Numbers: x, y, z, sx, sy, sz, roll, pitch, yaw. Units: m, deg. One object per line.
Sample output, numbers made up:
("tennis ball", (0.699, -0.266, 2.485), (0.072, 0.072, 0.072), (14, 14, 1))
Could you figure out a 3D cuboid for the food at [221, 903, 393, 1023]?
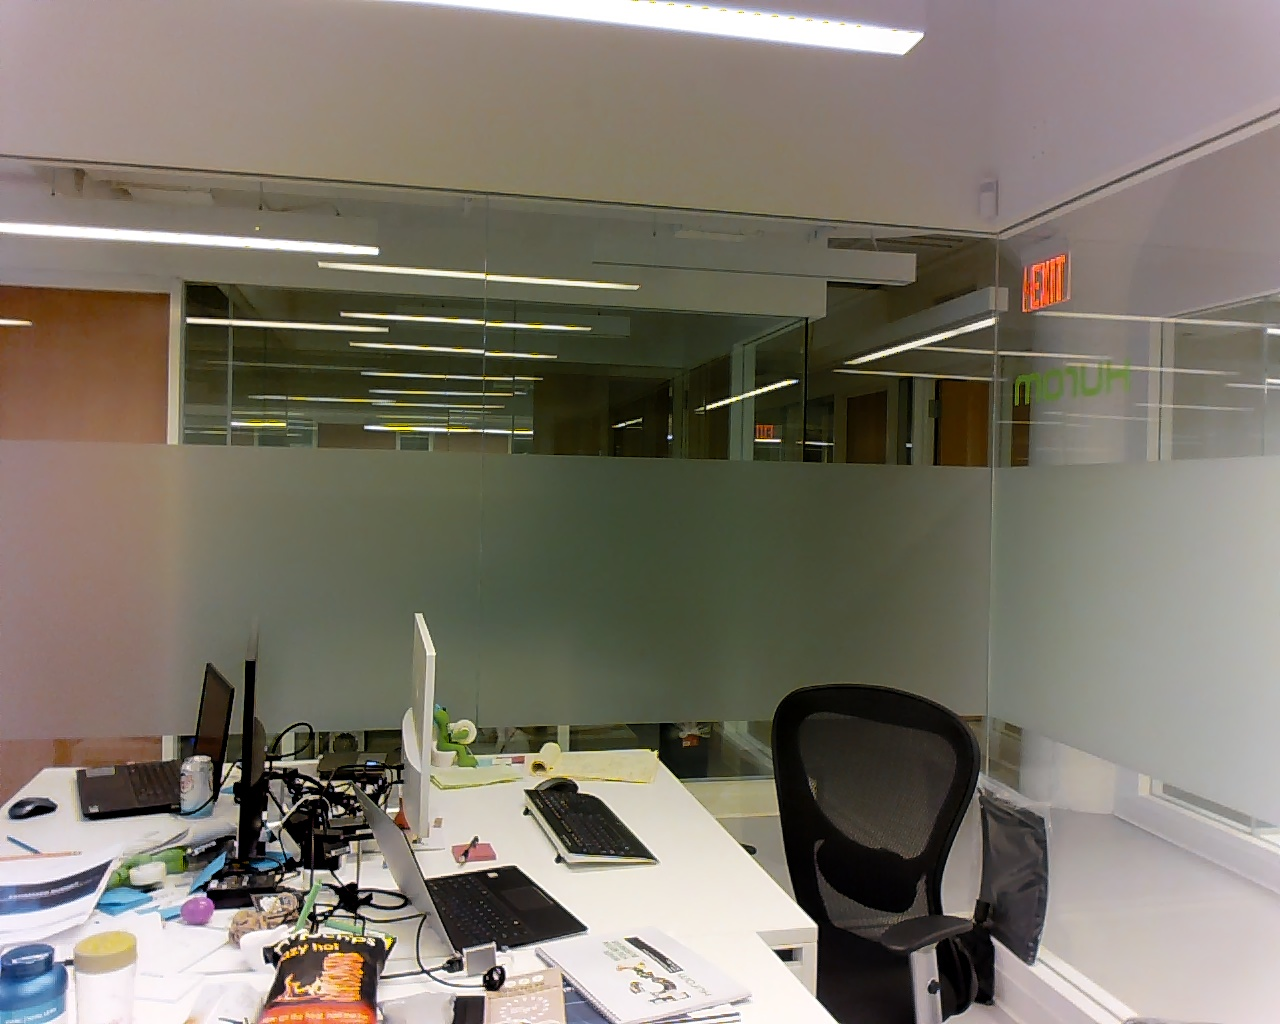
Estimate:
("food", (-0.430, 0.640, 1.420), (0.190, 0.130, 0.280), (1, 1, -12))
